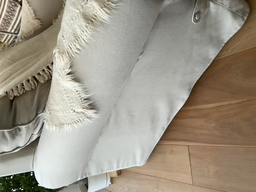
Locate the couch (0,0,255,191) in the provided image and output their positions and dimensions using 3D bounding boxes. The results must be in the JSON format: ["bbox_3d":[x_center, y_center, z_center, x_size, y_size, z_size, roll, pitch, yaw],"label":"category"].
[{"bbox_3d":[-0.180,-0.180,0.980,0.820,0.800,0.980,54,131,40],"label":"couch"}]
